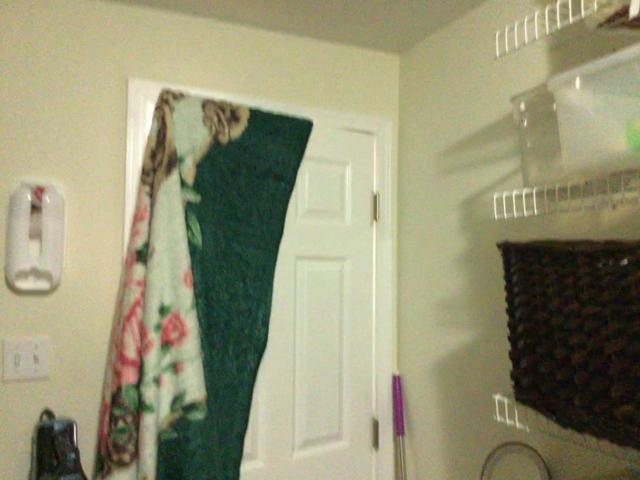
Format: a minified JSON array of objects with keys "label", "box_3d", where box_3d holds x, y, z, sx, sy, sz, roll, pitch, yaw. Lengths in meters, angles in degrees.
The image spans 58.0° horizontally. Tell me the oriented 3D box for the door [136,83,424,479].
[{"label":"door","box_3d":[-0.090,0.630,1.710,0.850,2.060,0.150,2,-4,-25]}]
